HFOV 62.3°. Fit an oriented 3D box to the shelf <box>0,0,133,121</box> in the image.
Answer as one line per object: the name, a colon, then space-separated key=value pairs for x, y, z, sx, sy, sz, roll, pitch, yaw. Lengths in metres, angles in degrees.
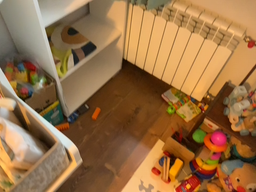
shelf: x=-0.290 y=-0.500 z=1.160 sx=0.320 sy=1.290 sz=0.680 roll=33 pitch=57 yaw=17
